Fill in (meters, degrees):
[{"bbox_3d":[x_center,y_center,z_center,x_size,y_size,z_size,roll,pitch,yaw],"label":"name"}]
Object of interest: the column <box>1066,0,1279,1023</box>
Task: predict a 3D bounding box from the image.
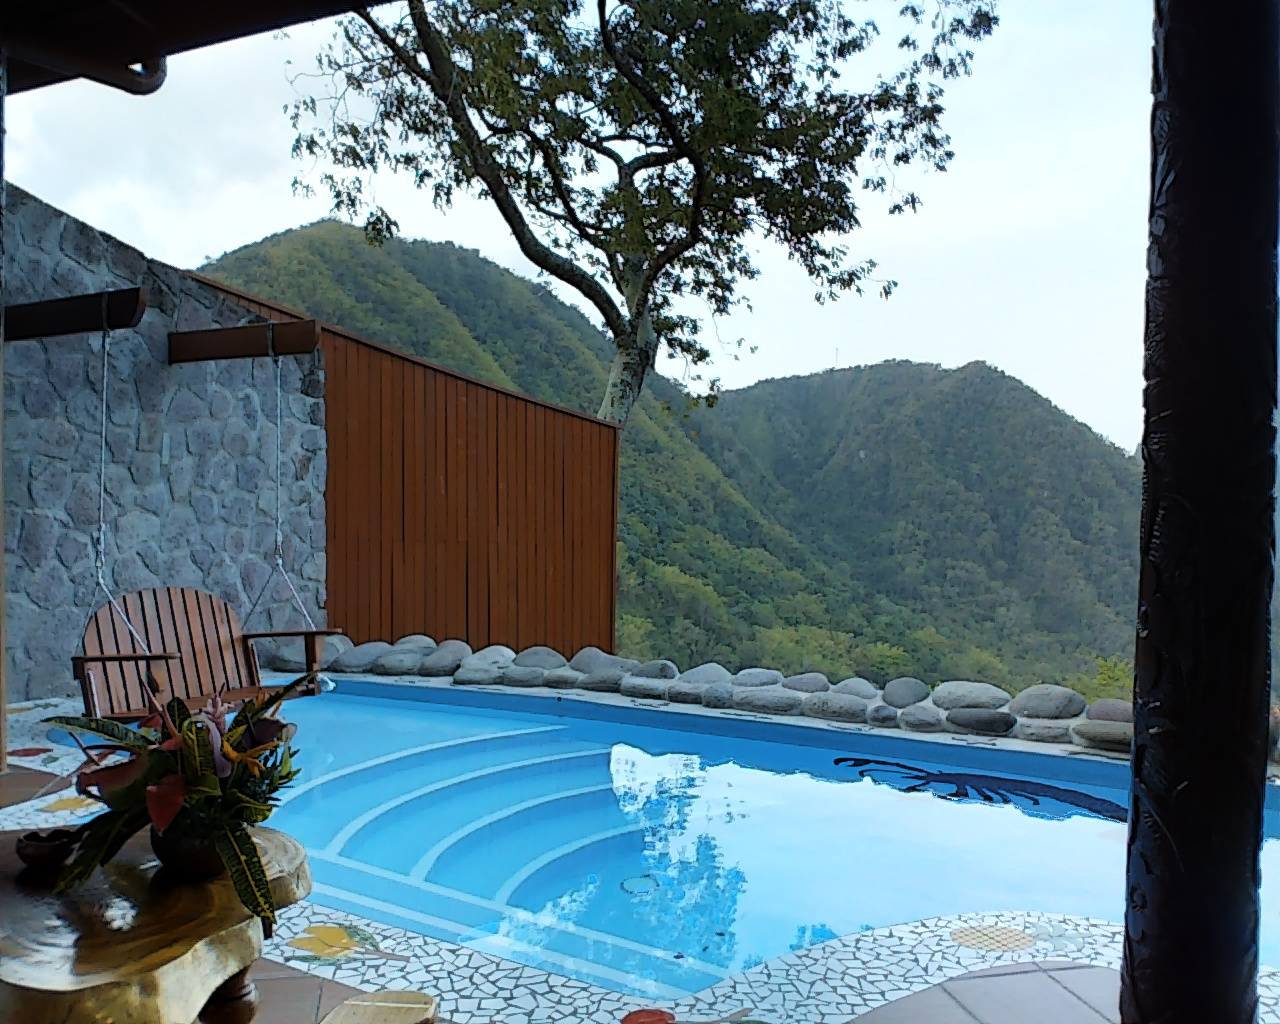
[{"bbox_3d":[1.230,-0.600,2.350,0.430,3.620,0.220,2,2,31],"label":"column"}]
